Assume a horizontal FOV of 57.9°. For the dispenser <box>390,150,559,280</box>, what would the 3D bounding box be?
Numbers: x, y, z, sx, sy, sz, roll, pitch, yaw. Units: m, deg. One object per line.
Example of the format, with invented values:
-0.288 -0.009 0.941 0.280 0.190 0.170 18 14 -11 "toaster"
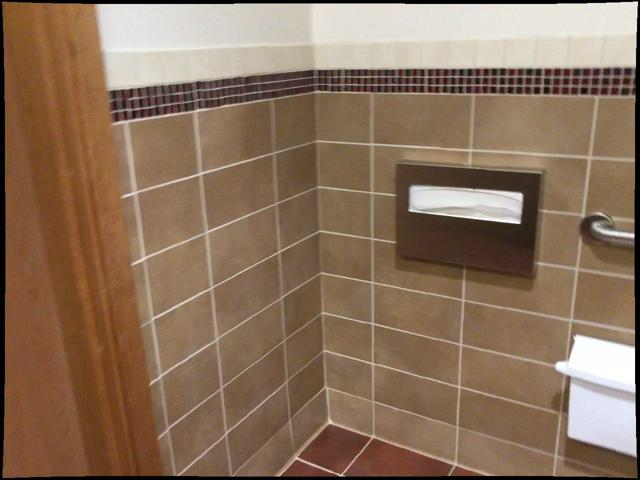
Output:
0.410 -0.080 1.600 0.440 0.300 0.070 10 23 32 "dispenser"
